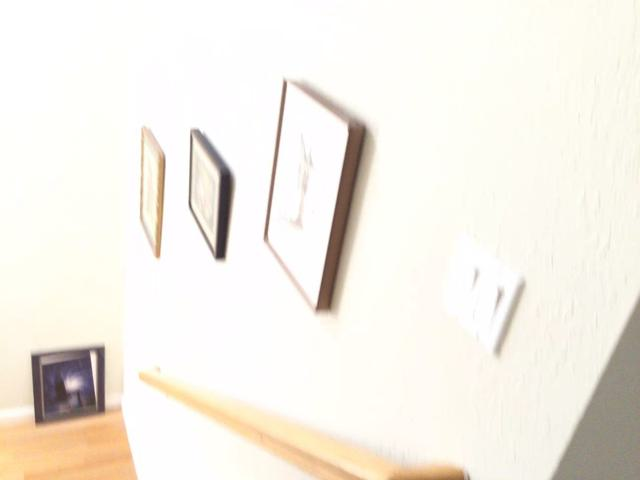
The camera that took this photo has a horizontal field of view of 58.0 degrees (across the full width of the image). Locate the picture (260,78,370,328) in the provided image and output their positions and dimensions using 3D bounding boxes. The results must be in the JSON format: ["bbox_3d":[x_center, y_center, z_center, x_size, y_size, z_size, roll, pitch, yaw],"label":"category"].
[{"bbox_3d":[-0.030,-0.090,1.180,0.030,0.420,0.340,-3,23,-27],"label":"picture"}]

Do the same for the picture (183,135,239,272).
[{"bbox_3d":[-0.360,-0.130,1.850,0.040,0.320,0.420,-3,23,-27],"label":"picture"}]
